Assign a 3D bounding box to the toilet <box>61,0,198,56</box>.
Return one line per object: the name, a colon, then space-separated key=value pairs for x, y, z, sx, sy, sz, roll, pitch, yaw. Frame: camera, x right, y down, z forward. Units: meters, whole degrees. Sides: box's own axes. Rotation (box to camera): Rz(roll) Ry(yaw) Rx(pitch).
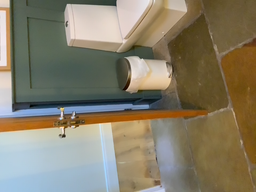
toilet: x=-0.030 y=-0.670 z=1.680 sx=0.660 sy=0.820 sz=0.390 roll=-32 pitch=64 yaw=58
